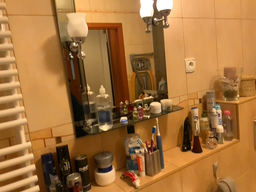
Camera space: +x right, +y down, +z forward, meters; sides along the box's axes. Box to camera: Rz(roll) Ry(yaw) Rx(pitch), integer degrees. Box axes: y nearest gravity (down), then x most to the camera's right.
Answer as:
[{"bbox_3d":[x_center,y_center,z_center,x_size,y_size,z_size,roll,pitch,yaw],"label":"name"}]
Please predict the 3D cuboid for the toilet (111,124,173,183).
[{"bbox_3d":[0.070,0.270,1.050,0.240,0.180,0.160,-12,10,-27],"label":"toilet"}]
